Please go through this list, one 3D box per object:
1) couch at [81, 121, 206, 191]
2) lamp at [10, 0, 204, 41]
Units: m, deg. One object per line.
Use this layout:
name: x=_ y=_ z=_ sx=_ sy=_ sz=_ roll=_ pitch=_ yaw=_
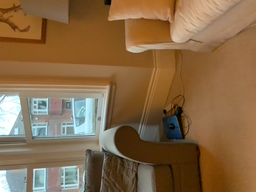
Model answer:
couch: x=0.070 y=1.080 z=2.040 sx=0.950 sy=0.960 sz=1.570 roll=145 pitch=123 yaw=-71
lamp: x=-0.160 y=-0.890 z=1.890 sx=0.530 sy=1.500 sz=0.500 roll=141 pitch=127 yaw=-71
